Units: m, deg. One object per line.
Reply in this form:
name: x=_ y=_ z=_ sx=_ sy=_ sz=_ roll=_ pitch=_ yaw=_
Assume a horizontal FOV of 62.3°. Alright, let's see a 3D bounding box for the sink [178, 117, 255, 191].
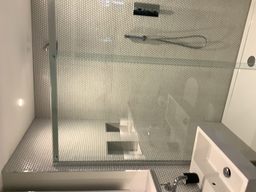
sink: x=0.590 y=0.500 z=1.480 sx=0.710 sy=0.160 sz=0.430 roll=-113 pitch=26 yaw=-68
